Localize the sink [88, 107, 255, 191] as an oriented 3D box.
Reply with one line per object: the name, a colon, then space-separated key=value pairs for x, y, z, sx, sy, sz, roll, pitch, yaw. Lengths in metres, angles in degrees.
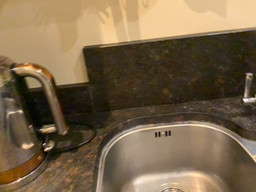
sink: x=0.110 y=0.250 z=0.470 sx=0.350 sy=0.230 sz=0.440 roll=-6 pitch=27 yaw=0
